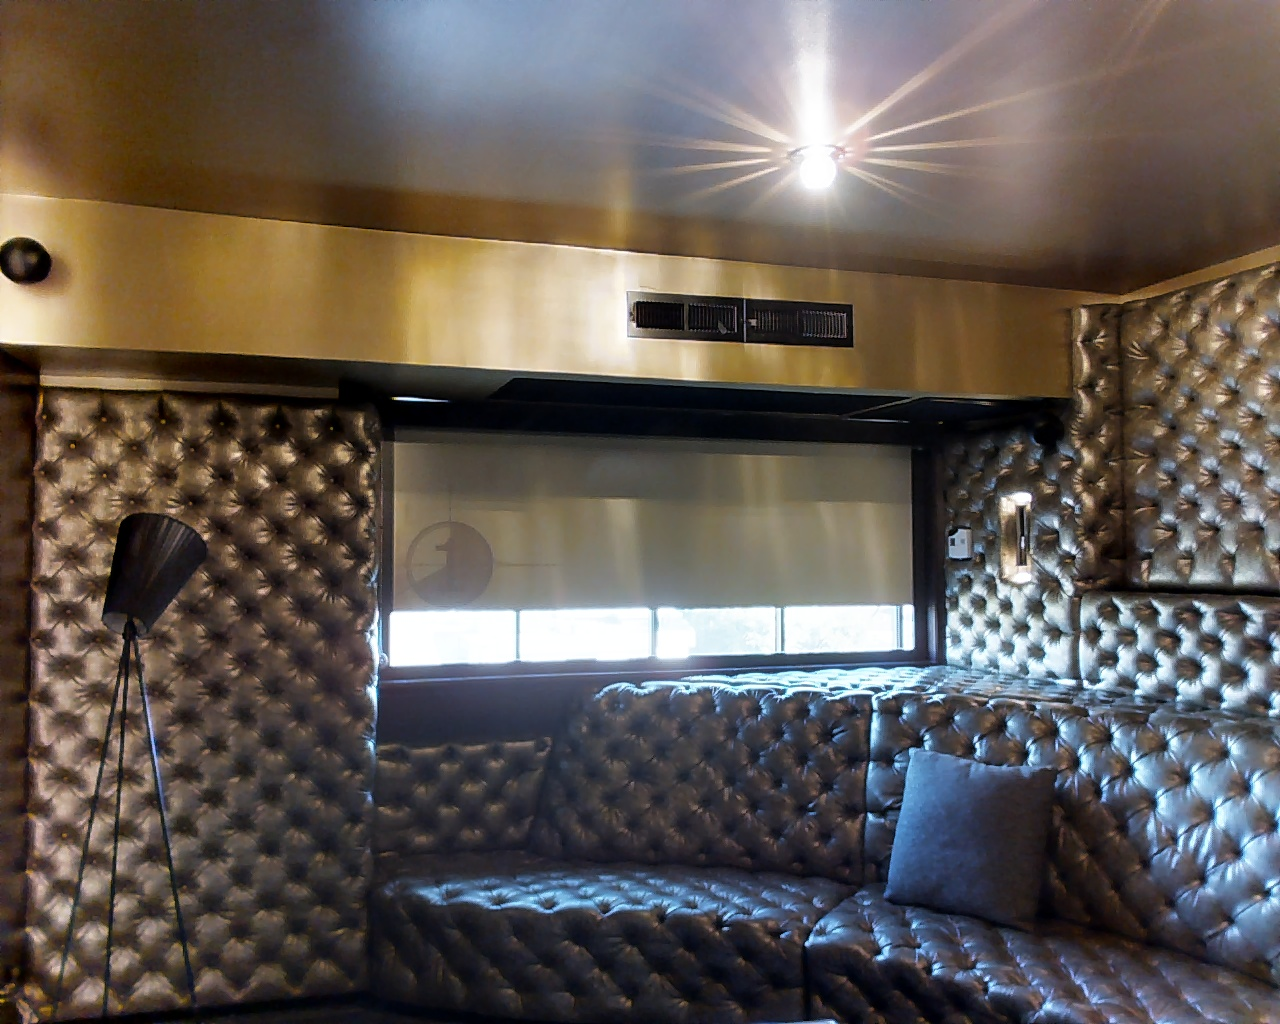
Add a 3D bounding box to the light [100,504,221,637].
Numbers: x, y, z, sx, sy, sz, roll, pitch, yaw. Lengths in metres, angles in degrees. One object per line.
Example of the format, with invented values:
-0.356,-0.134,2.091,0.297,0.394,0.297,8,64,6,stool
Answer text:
-1.430,0.170,3.240,0.290,0.370,0.400,0,-2,-18,light
